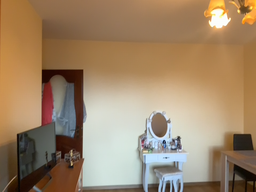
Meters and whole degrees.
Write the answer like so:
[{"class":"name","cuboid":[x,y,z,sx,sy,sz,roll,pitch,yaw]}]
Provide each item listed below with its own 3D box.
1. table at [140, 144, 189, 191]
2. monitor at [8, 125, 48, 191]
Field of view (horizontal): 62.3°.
[{"class":"table","cuboid":[0.590,1.210,3.550,0.710,0.690,0.450,1,0,-7]},{"class":"monitor","cuboid":[-0.750,0.490,1.650,0.040,0.450,0.600,1,0,-1]}]
